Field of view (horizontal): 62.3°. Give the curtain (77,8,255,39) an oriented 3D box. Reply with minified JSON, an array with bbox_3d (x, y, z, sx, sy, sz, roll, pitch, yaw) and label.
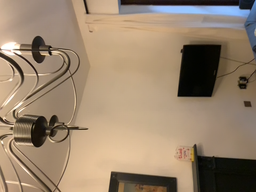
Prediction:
[{"bbox_3d":[0.390,-0.840,2.440,0.240,1.900,0.180,85,-170,-58],"label":"curtain"}]
